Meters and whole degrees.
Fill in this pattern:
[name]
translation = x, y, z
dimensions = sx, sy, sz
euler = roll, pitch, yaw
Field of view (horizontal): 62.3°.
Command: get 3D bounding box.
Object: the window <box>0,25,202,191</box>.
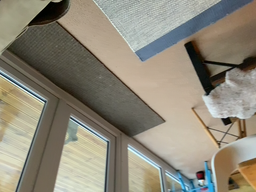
[window]
translation = -0.030, 1.210, 1.570
dimensions = 0.250, 2.360, 3.450
euler = -29, 130, 25
